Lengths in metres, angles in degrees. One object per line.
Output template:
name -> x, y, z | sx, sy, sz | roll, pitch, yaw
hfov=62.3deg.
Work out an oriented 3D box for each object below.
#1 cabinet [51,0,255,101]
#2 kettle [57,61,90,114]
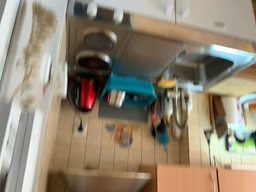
cabinet -> 0.090, -0.580, 1.480 | 1.030, 0.930, 0.760 | 8, 160, -16
kettle -> -0.380, -0.060, 1.480 | 0.180, 0.330, 0.110 | 8, 160, -16
